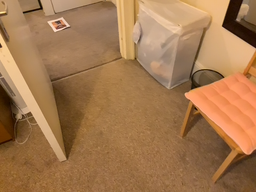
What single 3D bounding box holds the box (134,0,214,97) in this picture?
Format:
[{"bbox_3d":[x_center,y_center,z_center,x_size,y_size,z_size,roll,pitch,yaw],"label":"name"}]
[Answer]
[{"bbox_3d":[0.330,-0.440,1.820,0.330,0.640,0.550,-22,50,-17],"label":"box"}]
